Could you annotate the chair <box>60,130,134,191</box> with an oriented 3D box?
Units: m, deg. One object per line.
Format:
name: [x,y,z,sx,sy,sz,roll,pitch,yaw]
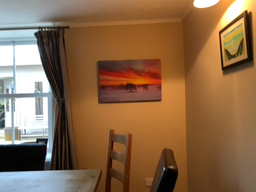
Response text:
chair: [-0.270,0.860,1.850,0.480,1.020,0.440,-1,-1,-34]

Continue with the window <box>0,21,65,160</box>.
window: [-1.630,-0.060,2.910,1.360,1.760,0.400,-2,-1,-1]
